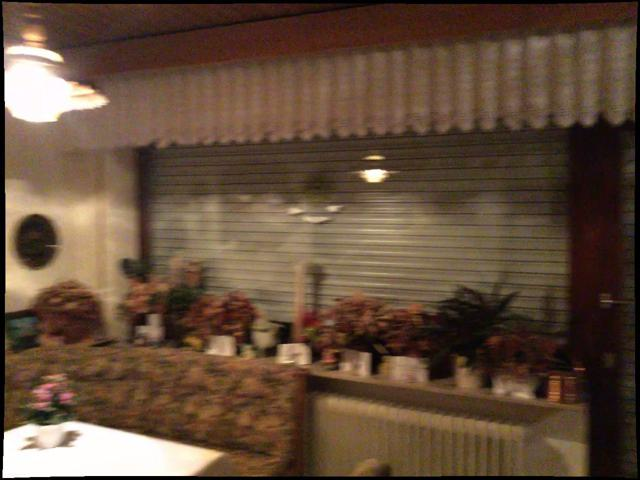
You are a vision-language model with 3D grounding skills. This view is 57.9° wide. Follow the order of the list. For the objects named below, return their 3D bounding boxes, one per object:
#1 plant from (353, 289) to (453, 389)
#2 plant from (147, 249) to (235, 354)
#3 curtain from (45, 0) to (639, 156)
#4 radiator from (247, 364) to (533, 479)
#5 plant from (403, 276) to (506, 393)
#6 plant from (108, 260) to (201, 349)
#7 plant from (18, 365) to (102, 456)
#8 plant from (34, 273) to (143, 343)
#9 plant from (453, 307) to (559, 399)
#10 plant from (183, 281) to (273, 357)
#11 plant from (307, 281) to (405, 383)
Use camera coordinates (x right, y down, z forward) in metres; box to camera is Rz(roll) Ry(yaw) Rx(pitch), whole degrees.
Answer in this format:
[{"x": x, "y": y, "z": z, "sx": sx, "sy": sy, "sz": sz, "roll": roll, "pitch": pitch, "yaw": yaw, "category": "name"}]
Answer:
[{"x": 0.390, "y": 0.440, "z": 2.680, "sx": 0.370, "sy": 0.360, "sz": 0.330, "roll": 3, "pitch": 4, "yaw": 25, "category": "plant"}, {"x": -0.709, "y": 0.320, "z": 3.200, "sx": 0.360, "sy": 0.511, "sz": 0.310, "roll": 3, "pitch": 4, "yaw": 25, "category": "plant"}, {"x": 0.440, "y": -0.711, "z": 2.400, "sx": 4.057, "sy": 0.611, "sz": 0.360, "roll": 3, "pitch": 4, "yaw": 25, "category": "curtain"}, {"x": 0.280, "y": 1.041, "z": 2.720, "sx": 1.319, "sy": 0.701, "sz": 0.230, "roll": 3, "pitch": 4, "yaw": 25, "category": "radiator"}, {"x": 0.609, "y": 0.400, "z": 2.590, "sx": 0.370, "sy": 0.420, "sz": 0.350, "roll": 3, "pitch": 4, "yaw": 25, "category": "plant"}, {"x": -0.939, "y": 0.350, "z": 3.300, "sx": 0.370, "sy": 0.430, "sz": 0.350, "roll": 3, "pitch": 4, "yaw": 25, "category": "plant"}, {"x": -0.929, "y": 0.601, "z": 2.070, "sx": 0.210, "sy": 0.240, "sz": 0.180, "roll": 3, "pitch": 4, "yaw": 25, "category": "plant"}, {"x": -1.269, "y": 0.360, "z": 3.210, "sx": 0.310, "sy": 0.290, "sz": 0.480, "roll": 3, "pitch": 4, "yaw": 25, "category": "plant"}, {"x": 0.809, "y": 0.470, "z": 2.500, "sx": 0.390, "sy": 0.280, "sz": 0.320, "roll": 3, "pitch": 4, "yaw": 25, "category": "plant"}, {"x": -0.490, "y": 0.410, "z": 3.100, "sx": 0.360, "sy": 0.320, "sz": 0.320, "roll": 3, "pitch": 4, "yaw": 25, "category": "plant"}, {"x": 0.180, "y": 0.420, "z": 2.770, "sx": 0.350, "sy": 0.390, "sz": 0.360, "roll": 3, "pitch": 4, "yaw": 25, "category": "plant"}]
